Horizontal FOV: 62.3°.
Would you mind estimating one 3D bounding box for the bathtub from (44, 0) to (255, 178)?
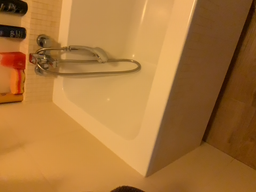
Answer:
[{"bbox_3d":[0.140,-0.630,0.990,0.830,0.550,1.650,29,114,37],"label":"bathtub"}]
